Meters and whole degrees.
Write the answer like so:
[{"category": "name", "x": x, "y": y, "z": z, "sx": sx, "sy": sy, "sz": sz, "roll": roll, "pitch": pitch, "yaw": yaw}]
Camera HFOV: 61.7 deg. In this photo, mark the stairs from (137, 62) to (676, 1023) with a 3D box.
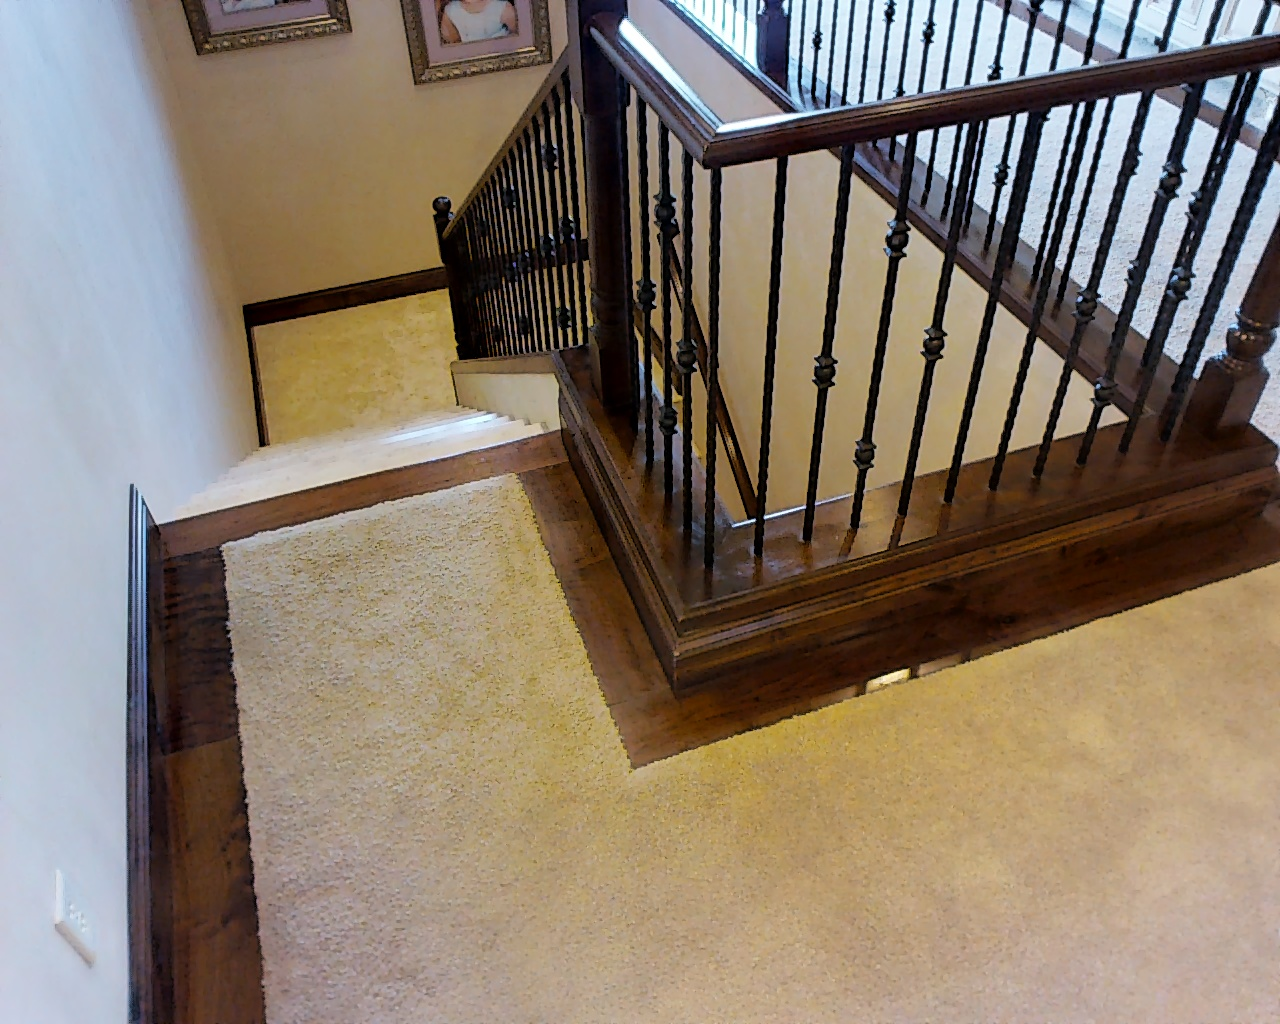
[{"category": "stairs", "x": -0.860, "y": 0.000, "z": 3.580, "sx": 0.940, "sy": 1.840, "sz": 2.960, "roll": -15, "pitch": 44, "yaw": -13}]
